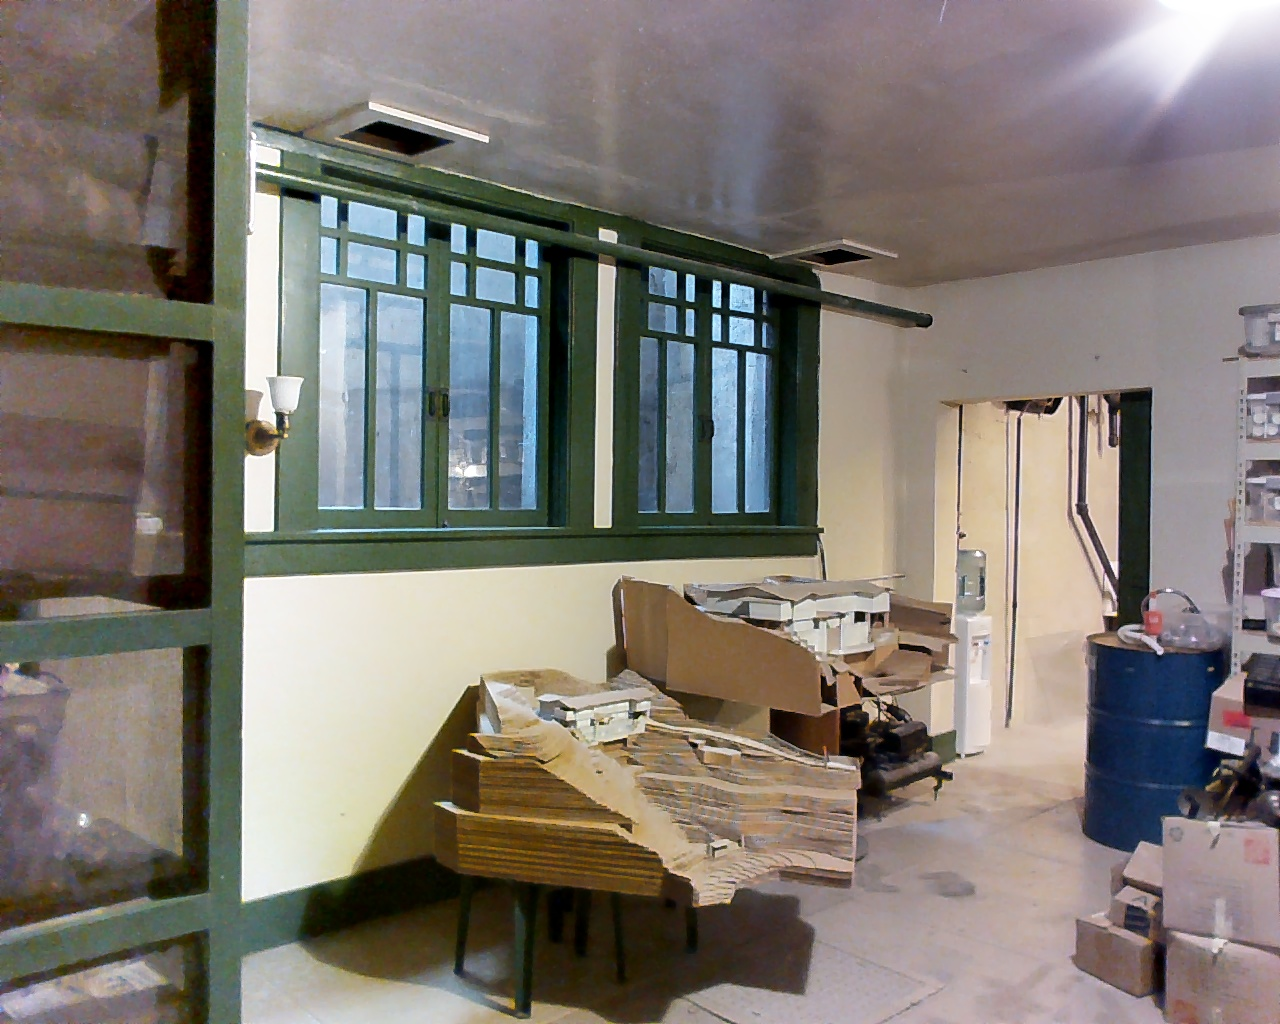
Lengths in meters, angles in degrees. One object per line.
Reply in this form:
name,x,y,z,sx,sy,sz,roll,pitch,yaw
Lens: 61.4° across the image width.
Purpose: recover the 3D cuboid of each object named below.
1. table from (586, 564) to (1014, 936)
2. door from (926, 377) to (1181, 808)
table,0.690,0.860,4.600,1.380,1.160,1.200,0,1,-44
door,2.180,0.380,5.790,0.290,2.100,1.240,0,1,-44
